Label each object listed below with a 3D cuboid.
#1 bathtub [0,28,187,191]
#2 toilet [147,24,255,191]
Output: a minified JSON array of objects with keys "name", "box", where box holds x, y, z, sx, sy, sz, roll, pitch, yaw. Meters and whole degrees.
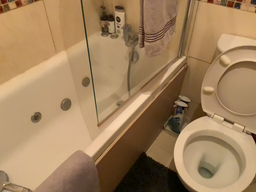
[{"name":"bathtub","box":[-0.380,0.270,1.160,0.690,0.570,1.630,25,47,25]},{"name":"toilet","box":[0.480,0.190,1.080,0.440,0.800,0.670,25,47,25]}]
